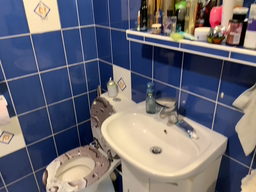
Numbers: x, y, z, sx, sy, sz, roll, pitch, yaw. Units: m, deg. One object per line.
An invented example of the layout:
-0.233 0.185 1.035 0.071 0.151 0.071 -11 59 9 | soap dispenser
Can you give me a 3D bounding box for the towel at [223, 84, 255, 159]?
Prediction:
0.480 0.100 0.840 0.060 0.260 0.140 -21 33 -33 | towel
